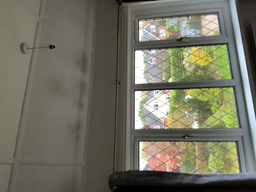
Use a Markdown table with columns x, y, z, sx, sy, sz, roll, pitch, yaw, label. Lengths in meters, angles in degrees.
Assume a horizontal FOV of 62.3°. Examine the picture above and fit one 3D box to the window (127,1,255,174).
| x | y | z | sx | sy | sz | roll | pitch | yaw | label |
| --- | --- | --- | --- | --- | --- | --- | --- | --- | --- |
| 0.560 | -0.190 | 2.270 | 0.090 | 1.110 | 1.910 | 67 | -158 | -67 | window |
